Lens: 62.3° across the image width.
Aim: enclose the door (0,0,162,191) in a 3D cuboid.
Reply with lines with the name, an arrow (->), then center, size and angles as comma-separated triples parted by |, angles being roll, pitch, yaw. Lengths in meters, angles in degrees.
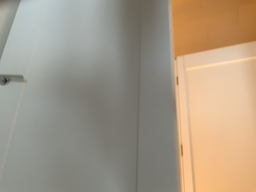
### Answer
door -> -0.270, -0.030, 0.990 | 0.830, 2.010, 0.030 | 2, 156, 2
